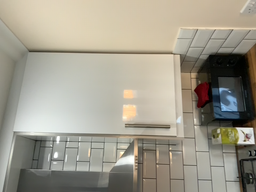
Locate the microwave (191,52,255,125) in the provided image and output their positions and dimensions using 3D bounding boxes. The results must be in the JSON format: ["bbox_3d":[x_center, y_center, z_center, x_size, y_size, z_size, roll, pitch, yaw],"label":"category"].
[{"bbox_3d":[0.670,-0.040,1.550,0.320,0.310,0.440,87,-175,-70],"label":"microwave"}]

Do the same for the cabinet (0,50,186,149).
[{"bbox_3d":[-0.220,0.040,1.590,0.390,1.180,0.610,87,-175,-70],"label":"cabinet"}]
